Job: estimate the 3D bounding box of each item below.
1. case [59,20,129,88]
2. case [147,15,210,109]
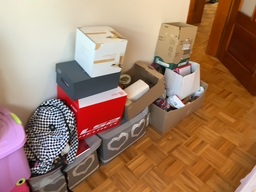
[{"bbox_3d":[-0.190,-0.260,1.260,0.300,0.250,0.240,-29,48,-31],"label":"case"},{"bbox_3d":[0.430,-0.300,1.950,0.390,0.740,0.260,-24,46,-27],"label":"case"}]
